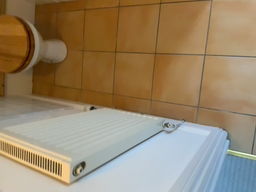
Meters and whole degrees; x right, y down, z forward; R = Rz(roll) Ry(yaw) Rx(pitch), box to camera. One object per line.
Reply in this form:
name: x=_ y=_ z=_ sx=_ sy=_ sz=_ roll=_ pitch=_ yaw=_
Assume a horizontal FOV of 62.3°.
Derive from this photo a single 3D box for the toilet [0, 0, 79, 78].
toilet: x=-0.880 y=-0.370 z=1.510 sx=0.680 sy=0.760 sz=0.420 roll=8 pitch=98 yaw=29
